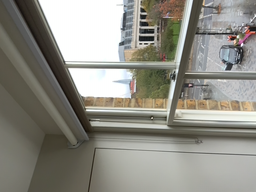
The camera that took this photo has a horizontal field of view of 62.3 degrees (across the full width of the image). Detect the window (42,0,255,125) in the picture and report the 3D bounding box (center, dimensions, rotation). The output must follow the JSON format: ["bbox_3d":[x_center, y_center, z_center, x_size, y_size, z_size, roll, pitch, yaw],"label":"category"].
[{"bbox_3d":[0.320,-0.180,1.170,0.920,1.190,0.280,84,-171,-57],"label":"window"}]
